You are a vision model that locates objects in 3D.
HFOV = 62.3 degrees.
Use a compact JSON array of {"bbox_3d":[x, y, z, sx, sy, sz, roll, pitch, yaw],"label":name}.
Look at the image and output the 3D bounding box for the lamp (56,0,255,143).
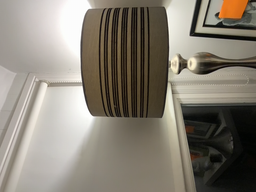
[{"bbox_3d":[0.180,-0.080,0.700,0.370,0.660,0.330,86,-176,-53],"label":"lamp"}]
